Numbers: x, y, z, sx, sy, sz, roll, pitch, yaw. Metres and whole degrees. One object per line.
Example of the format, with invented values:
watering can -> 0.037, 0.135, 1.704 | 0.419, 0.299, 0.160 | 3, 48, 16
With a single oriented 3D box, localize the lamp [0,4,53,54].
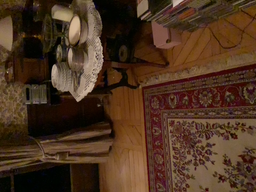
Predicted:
lamp -> -1.140, -0.680, 2.210 | 0.300, 0.590, 0.370 | -9, 85, 56

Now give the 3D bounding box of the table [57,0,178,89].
table -> -0.130, -0.450, 1.890 | 0.780, 0.740, 0.700 | -6, 87, 56
